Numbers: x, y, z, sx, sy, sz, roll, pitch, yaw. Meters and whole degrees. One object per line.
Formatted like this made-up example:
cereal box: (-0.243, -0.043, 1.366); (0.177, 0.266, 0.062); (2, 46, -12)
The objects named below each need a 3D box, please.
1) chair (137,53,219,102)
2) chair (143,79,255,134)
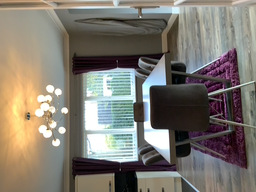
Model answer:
chair: (0.600, -0.220, 2.720); (0.440, 0.900, 0.530); (109, 159, -82)
chair: (0.640, 0.110, 2.090); (0.530, 0.910, 0.440); (115, 153, -84)
